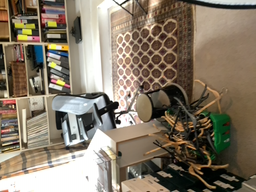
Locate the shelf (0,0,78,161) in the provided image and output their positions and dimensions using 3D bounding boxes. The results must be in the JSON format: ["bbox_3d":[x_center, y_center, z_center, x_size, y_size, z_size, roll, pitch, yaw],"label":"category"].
[{"bbox_3d":[-1.820,-0.380,3.280,0.310,1.860,2.630,6,100,61],"label":"shelf"}]

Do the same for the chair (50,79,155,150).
[{"bbox_3d":[-0.310,0.210,2.500,0.580,1.000,0.610,-28,70,59],"label":"chair"}]

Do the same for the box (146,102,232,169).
[{"bbox_3d":[0.480,0.280,1.780,0.600,0.360,0.390,3,98,61],"label":"box"}]
